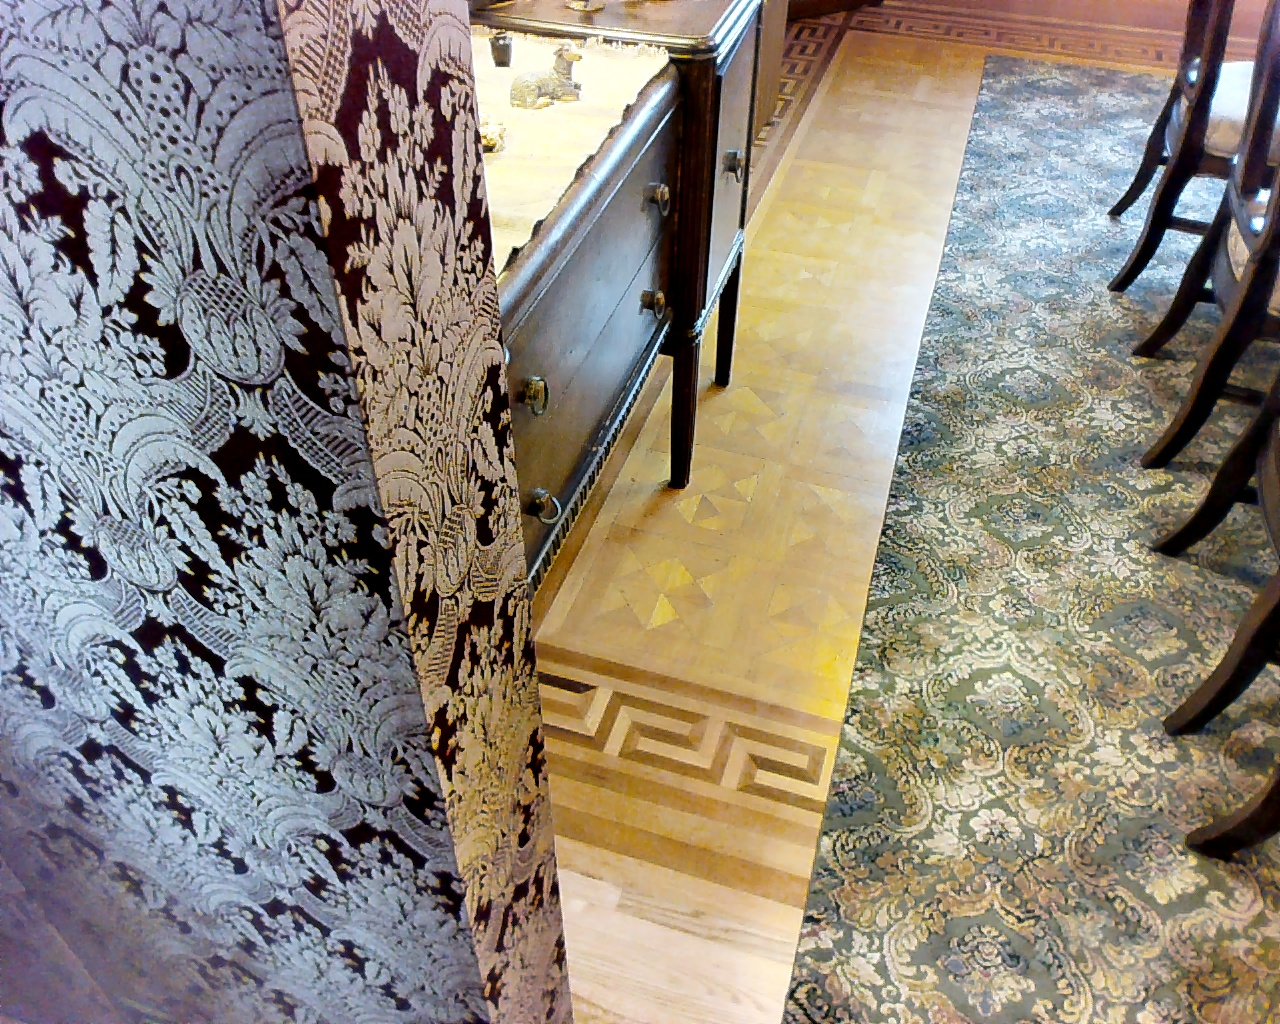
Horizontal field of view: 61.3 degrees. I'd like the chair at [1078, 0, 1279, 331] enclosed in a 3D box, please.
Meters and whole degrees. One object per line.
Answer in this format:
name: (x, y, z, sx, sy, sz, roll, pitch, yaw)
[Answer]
chair: (1.560, -1.100, 2.610, 0.660, 1.110, 0.620, 12, 44, 13)
